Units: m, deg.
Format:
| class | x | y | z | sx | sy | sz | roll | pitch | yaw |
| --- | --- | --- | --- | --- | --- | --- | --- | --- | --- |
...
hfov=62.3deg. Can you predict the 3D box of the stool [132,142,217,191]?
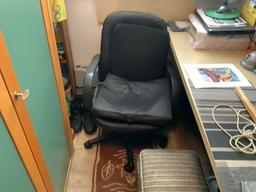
| class | x | y | z | sx | sy | sz | roll | pitch | yaw |
| --- | --- | --- | --- | --- | --- | --- | --- | --- | --- |
| stool | 0.230 | 0.530 | 1.210 | 0.380 | 0.370 | 0.370 | 1 | 41 | -3 |
